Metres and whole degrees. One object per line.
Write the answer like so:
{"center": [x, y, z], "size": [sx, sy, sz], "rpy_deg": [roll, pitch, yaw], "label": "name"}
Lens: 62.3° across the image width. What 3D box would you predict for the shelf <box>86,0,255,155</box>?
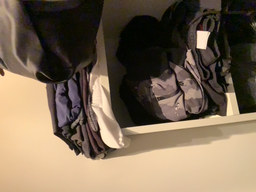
{"center": [0.420, -0.110, 0.730], "size": [0.300, 1.070, 0.450], "rpy_deg": [124, 140, -77], "label": "shelf"}
